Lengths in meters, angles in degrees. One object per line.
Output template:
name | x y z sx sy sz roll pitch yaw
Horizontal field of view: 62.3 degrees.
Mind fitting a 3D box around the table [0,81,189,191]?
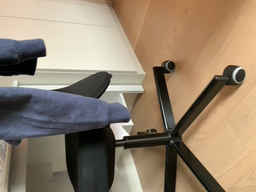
table | -0.210 0.400 1.100 0.500 0.730 0.840 111 150 -43
